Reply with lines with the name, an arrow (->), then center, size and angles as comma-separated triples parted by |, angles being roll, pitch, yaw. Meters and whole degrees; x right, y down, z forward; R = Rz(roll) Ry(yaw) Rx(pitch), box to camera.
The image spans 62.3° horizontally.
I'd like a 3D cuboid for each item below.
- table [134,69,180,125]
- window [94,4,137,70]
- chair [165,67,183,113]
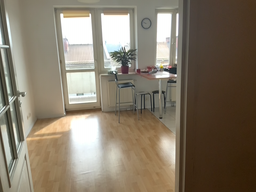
table -> 0.570, -0.050, 4.560 | 0.590, 0.930, 1.160 | -4, 14, -12
window -> -0.270, -1.340, 4.900 | 0.920, 1.400, 0.250 | -4, 14, -9
chair -> 1.050, -0.150, 4.840 | 0.370, 0.970, 0.470 | 2, 14, 13
